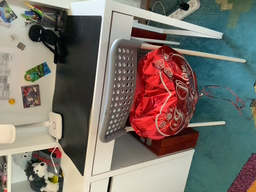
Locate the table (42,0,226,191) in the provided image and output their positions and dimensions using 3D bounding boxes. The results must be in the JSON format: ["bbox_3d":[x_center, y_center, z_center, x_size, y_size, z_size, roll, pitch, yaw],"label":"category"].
[{"bbox_3d":[-0.020,0.070,1.270,0.570,0.740,1.040,28,113,49],"label":"table"}]

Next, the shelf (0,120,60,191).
[{"bbox_3d":[-0.670,0.360,1.090,0.280,0.520,0.350,28,113,49],"label":"shelf"}]
